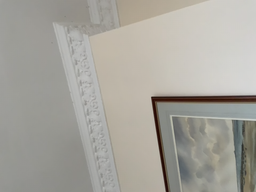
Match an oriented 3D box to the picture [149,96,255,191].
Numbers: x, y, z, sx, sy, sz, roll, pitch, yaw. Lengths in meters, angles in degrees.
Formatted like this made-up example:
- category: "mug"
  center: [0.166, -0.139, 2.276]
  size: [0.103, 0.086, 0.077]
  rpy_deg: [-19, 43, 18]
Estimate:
- category: "picture"
  center: [0.460, 0.420, 1.050]
  size: [0.020, 0.690, 0.870]
  rpy_deg: [-24, -72, -48]
